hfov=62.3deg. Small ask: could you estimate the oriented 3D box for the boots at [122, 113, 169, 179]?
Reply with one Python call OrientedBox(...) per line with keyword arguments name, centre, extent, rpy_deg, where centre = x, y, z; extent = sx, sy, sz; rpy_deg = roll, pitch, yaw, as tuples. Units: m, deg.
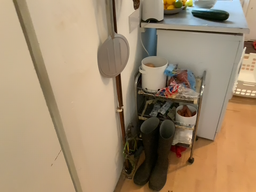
OrientedBox(name="boots", centre=(0.120, 0.330, 1.410), extent=(0.250, 0.330, 0.230), rpy_deg=(9, 38, 14))
